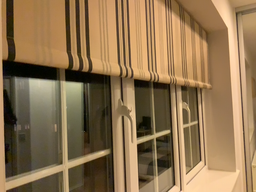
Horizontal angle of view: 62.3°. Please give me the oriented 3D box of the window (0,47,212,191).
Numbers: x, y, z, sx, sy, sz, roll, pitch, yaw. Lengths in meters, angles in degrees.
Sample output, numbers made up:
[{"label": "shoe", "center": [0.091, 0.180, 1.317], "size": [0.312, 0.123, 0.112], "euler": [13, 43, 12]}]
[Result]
[{"label": "window", "center": [0.140, 0.250, 1.120], "size": [0.170, 0.690, 1.620], "euler": [-4, -2, 34]}]
